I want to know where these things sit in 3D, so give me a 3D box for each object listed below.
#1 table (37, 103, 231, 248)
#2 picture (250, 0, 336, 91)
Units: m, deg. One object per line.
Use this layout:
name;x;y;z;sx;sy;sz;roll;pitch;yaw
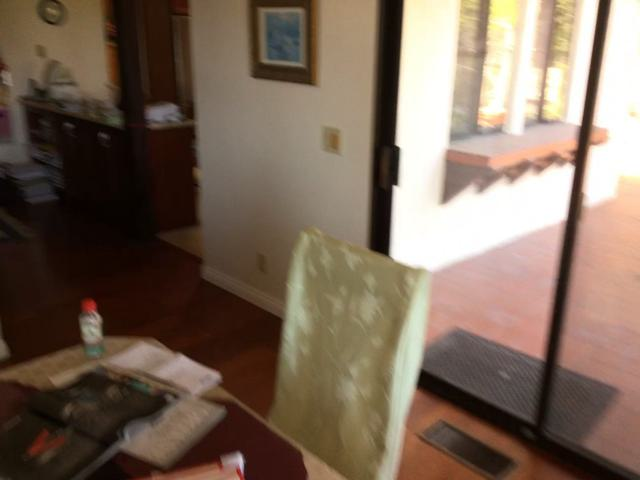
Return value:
table;-1.670;-0.660;5.060;0.840;0.870;1.820;-13;24;-42
picture;-0.150;-0.980;2.880;0.100;0.420;0.510;-13;24;-42
